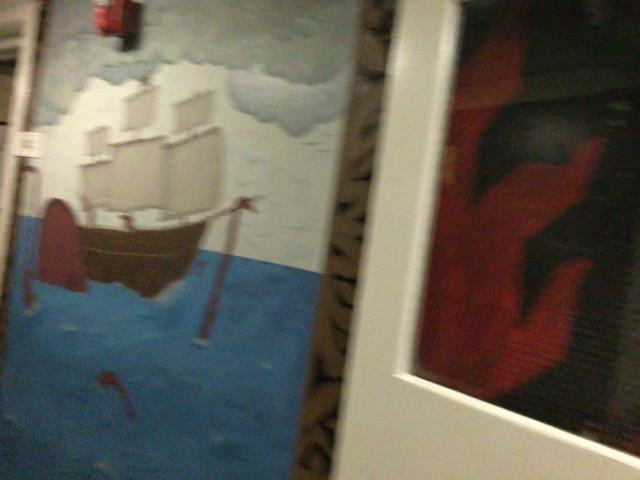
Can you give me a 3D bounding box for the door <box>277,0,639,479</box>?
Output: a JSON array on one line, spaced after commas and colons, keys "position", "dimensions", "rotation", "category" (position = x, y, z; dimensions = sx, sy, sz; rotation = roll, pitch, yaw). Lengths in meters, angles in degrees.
[{"position": [0.320, 0.460, 0.950], "dimensions": [0.840, 2.150, 0.210], "rotation": [7, -3, 37], "category": "door"}]
